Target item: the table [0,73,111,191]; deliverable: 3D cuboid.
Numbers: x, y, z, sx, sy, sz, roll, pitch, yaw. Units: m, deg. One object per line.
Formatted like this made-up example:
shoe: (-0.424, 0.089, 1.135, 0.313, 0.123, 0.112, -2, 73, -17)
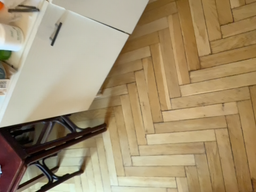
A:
table: (-0.620, 0.240, 1.310, 0.630, 0.670, 0.490, 39, 110, 19)
